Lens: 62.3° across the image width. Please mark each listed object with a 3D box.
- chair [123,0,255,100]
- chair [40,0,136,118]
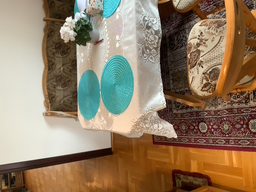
[{"bbox_3d":[0.490,-0.210,1.070,0.500,0.890,0.430,-8,83,53],"label":"chair"},{"bbox_3d":[-0.450,-0.680,2.350,0.520,0.860,1.790,-8,83,53],"label":"chair"}]
